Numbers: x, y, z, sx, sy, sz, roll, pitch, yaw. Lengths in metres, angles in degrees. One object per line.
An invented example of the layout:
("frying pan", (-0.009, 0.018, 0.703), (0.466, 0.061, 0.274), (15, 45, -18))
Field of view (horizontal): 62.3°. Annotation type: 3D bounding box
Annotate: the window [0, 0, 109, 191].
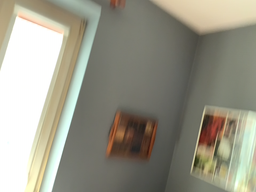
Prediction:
("window", (-0.870, 0.030, 1.140), (1.220, 1.520, 0.260), (17, -7, -32))
